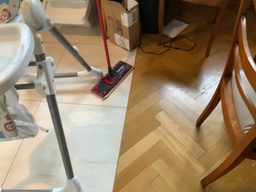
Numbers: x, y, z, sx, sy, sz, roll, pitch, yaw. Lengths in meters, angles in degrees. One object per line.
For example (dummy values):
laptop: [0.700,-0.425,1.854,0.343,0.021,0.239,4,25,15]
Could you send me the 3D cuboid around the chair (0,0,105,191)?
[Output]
chair: [-0.510,-0.090,0.890,0.590,1.060,0.920,-2,54,4]
